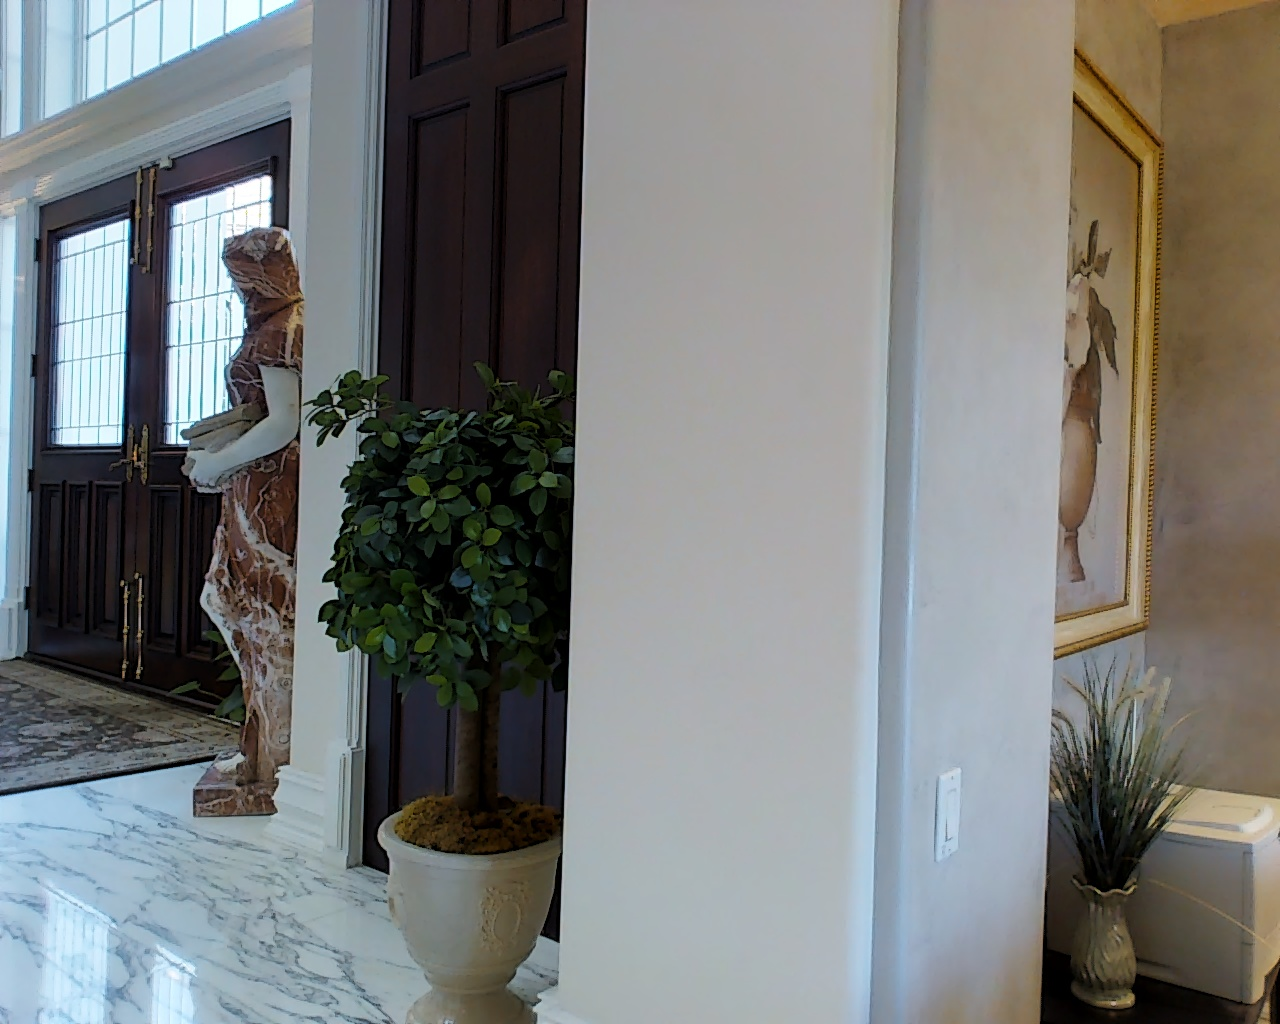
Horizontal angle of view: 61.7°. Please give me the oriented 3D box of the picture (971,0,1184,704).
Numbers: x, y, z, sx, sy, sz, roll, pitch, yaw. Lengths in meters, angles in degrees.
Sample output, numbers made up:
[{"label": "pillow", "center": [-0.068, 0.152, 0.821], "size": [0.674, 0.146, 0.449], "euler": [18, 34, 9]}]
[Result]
[{"label": "picture", "center": [1.100, -0.340, 2.580], "size": [0.090, 1.430, 1.250], "euler": [1, 0, 39]}]
